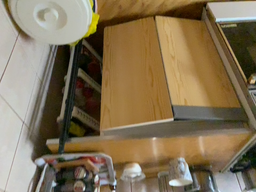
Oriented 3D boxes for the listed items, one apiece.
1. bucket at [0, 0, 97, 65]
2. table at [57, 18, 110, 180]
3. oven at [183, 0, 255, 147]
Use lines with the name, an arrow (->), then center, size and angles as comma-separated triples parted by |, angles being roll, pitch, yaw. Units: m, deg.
bucket -> -0.290, -0.330, 0.850 | 0.280, 0.220, 0.340 | -2, 144, -1
table -> -0.210, 0.000, 1.270 | 0.160, 0.830, 0.490 | -3, 144, 0
oven -> 0.710, -0.140, 1.280 | 0.510, 0.670, 0.600 | -3, 144, 0
